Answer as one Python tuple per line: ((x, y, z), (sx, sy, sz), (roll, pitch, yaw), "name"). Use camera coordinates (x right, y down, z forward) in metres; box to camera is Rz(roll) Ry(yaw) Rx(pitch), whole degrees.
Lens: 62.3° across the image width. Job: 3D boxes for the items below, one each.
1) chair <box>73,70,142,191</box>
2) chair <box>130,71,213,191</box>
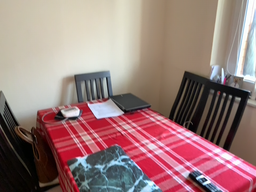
((-0.200, 0.310, 1.940), (0.350, 0.980, 0.560), (-12, 23, -33), "chair")
((0.370, 0.310, 1.980), (0.580, 0.970, 0.380), (-9, 21, -27), "chair")
